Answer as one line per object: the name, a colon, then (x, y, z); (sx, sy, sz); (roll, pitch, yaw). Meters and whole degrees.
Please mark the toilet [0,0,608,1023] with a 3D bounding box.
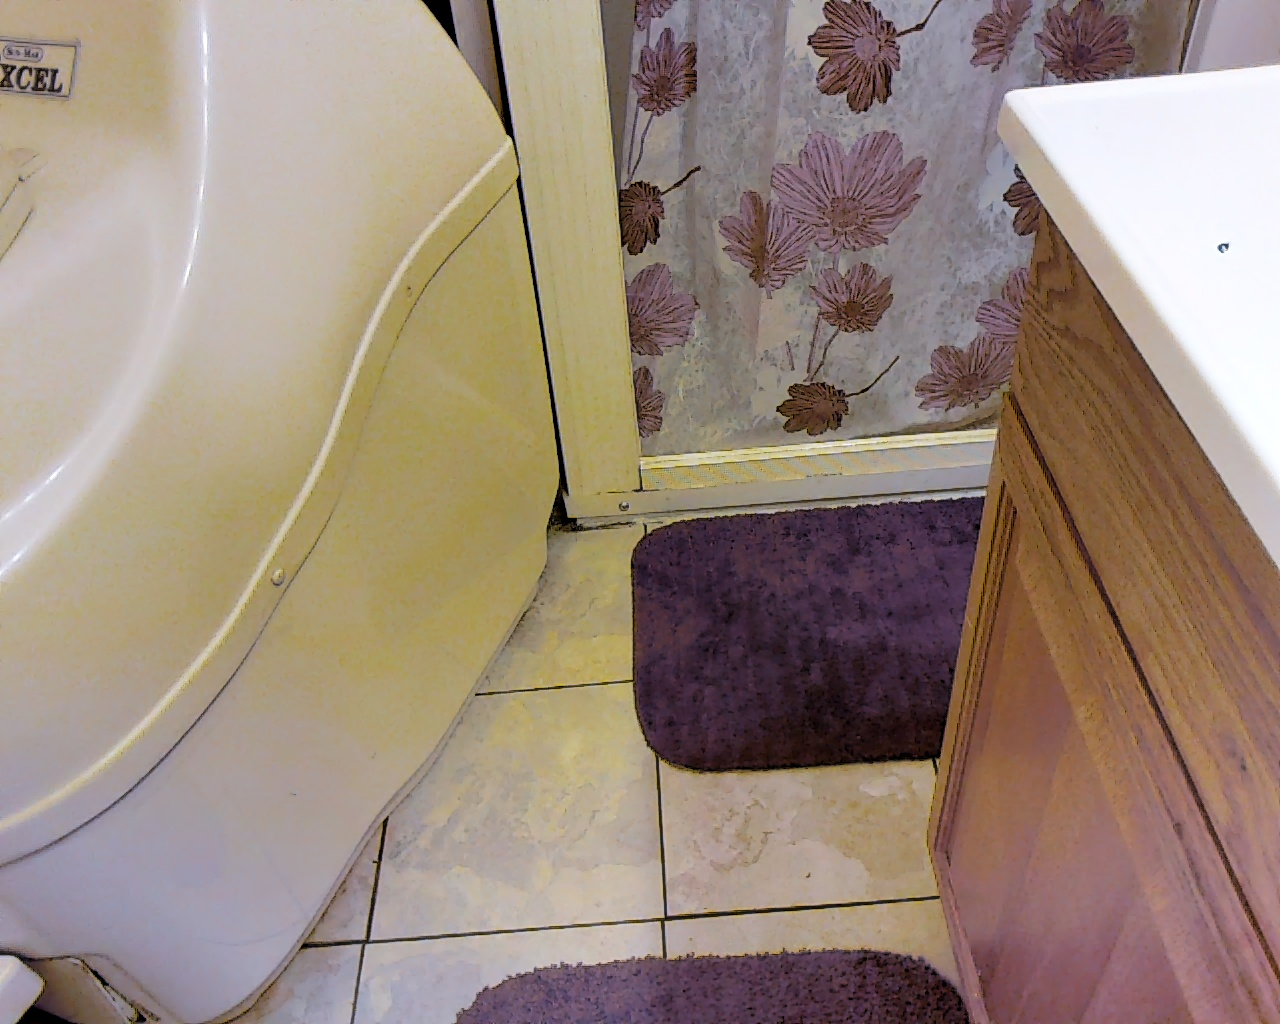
toilet: (-0.510, -0.050, 1.040); (0.590, 0.830, 0.870); (10, 44, 19)
